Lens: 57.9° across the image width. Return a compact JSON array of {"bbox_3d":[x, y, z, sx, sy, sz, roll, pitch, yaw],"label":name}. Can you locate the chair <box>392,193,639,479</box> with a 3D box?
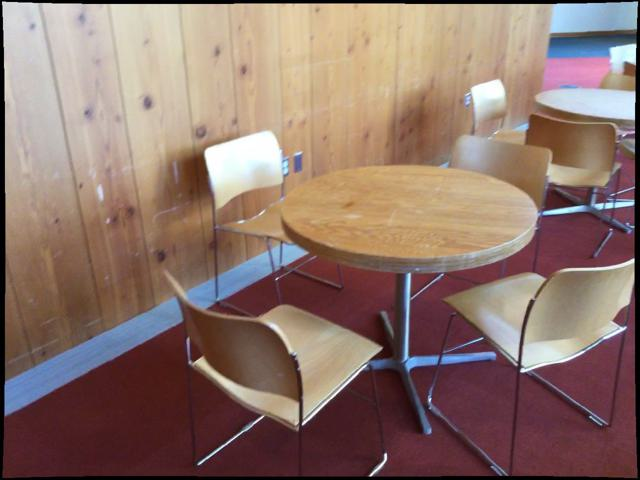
[{"bbox_3d":[0.659,0.280,1.930,0.580,0.621,0.550,-19,32,-33],"label":"chair"}]

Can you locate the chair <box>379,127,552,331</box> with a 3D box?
[{"bbox_3d":[0.639,-0.080,2.620,0.520,0.681,0.500,20,33,35],"label":"chair"}]

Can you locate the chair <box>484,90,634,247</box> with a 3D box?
[{"bbox_3d":[1.359,-0.440,3.310,0.510,0.661,0.630,20,33,35],"label":"chair"}]

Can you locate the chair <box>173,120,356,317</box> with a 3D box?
[{"bbox_3d":[-0.260,-0.140,2.780,0.710,0.671,0.460,20,33,35],"label":"chair"}]

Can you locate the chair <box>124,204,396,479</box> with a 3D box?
[{"bbox_3d":[-0.150,0.360,1.750,0.480,0.701,0.580,20,33,35],"label":"chair"}]
